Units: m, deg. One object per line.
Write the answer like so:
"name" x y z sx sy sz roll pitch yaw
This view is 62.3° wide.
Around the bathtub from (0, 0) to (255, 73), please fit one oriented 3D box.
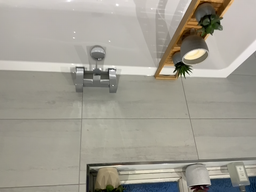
"bathtub" -0.100 -0.550 1.010 1.660 0.560 0.690 0 154 -9
